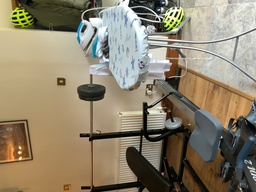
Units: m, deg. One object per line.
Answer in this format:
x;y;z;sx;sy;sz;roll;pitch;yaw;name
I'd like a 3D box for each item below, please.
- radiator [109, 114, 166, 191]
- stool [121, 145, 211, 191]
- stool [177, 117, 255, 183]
0.070;1.060;2.800;0.140;0.600;1.750;-119;30;-62;radiator
0.370;0.940;1.960;1.170;0.620;0.330;-124;35;-65;stool
0.600;0.370;1.510;0.280;0.350;0.330;-118;29;-61;stool
